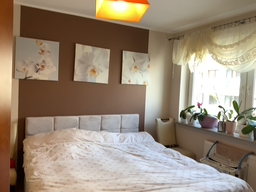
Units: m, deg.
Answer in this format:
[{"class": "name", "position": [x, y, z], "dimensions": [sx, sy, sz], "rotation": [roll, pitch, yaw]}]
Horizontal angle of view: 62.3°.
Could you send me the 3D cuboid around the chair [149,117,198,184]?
[{"class": "chair", "position": [0.770, 0.890, 3.710], "dimensions": [0.430, 0.930, 0.700], "rotation": [1, 4, -29]}]
